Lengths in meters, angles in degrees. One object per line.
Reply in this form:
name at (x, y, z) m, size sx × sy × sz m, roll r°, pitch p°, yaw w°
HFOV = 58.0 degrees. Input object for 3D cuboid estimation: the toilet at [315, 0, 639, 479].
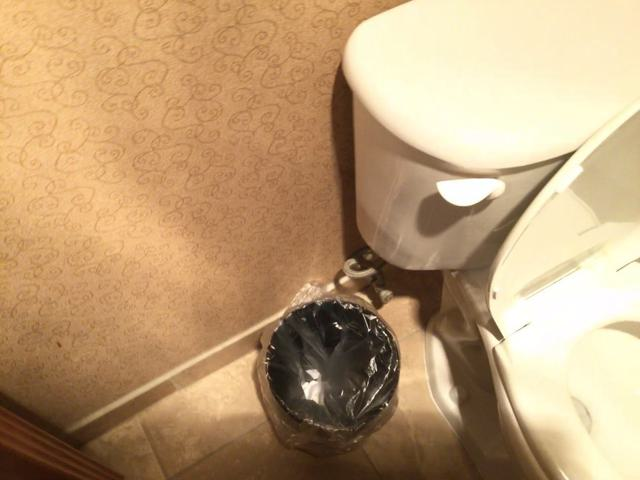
toilet at (0.380, 0.110, 0.790) m, size 0.490 × 0.770 × 0.680 m, roll -28°, pitch 64°, yaw -16°
